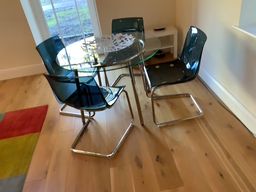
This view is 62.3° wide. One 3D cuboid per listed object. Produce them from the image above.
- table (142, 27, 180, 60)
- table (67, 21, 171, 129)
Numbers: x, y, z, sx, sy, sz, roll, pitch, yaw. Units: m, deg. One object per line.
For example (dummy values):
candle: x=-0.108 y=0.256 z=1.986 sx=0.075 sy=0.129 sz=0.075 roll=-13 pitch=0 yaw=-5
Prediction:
table: x=0.550 y=-0.870 z=3.510 sx=0.560 sy=0.390 sz=0.240 roll=-9 pitch=33 yaw=-2
table: x=-0.090 y=-0.290 z=2.430 sx=0.900 sy=0.750 sz=0.960 roll=-9 pitch=33 yaw=-2
